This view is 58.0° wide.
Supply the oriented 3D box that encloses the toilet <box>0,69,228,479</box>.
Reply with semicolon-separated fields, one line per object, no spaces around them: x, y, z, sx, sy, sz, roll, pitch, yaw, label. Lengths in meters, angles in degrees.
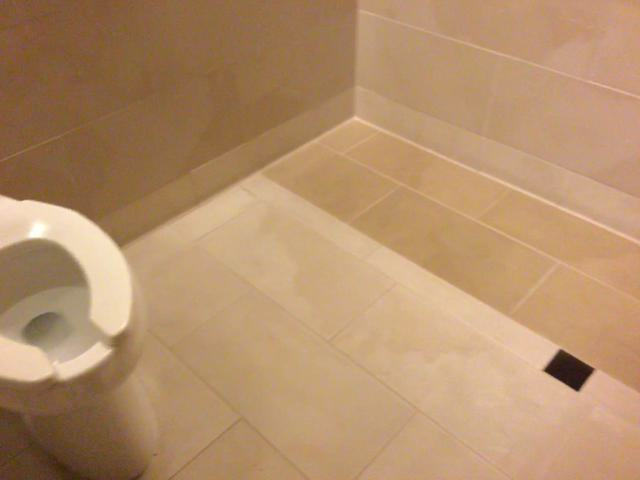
-0.630;0.110;1.210;0.740;0.730;0.390;31;50;33;toilet
